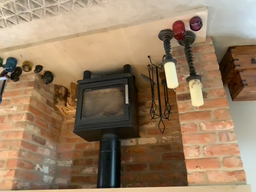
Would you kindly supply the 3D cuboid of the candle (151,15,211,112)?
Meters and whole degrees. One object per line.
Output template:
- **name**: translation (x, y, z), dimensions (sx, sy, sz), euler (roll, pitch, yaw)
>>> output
- **candle**: translation (0.370, -0.250, 1.590), dimensions (0.340, 0.680, 0.220), euler (-5, 153, 10)
